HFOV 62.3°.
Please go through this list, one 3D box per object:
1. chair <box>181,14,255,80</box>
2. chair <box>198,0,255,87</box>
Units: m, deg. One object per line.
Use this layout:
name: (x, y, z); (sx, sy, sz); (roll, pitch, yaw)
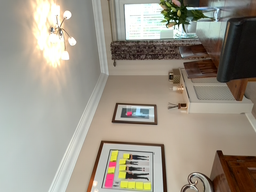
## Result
chair: (1.110, -0.490, 2.070); (0.480, 1.050, 0.490); (-81, -10, -59)
chair: (1.070, -0.400, 1.440); (0.570, 1.000, 0.450); (-81, -10, -59)
